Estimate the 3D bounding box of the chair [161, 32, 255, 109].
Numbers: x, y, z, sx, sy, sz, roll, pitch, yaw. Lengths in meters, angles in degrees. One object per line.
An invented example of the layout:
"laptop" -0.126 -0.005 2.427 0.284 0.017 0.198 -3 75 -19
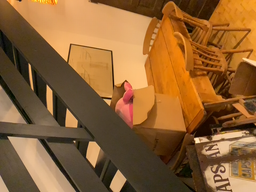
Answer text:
"chair" 0.860 -0.240 2.280 0.570 0.790 0.440 113 160 -49
